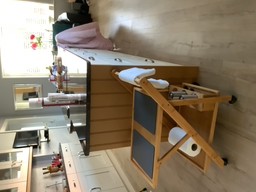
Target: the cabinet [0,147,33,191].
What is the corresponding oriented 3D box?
[{"bbox_3d":[-1.740,1.360,2.780,2.050,0.850,0.360,-147,57,-63],"label":"cabinet"}]
